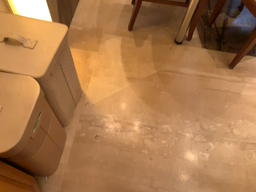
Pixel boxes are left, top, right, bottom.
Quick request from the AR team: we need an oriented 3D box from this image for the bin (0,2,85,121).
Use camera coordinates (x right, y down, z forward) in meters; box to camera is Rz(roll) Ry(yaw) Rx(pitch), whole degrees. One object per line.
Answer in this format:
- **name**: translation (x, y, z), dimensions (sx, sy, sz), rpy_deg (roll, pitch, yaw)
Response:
- **bin**: translation (-0.490, -0.140, 1.120), dimensions (0.400, 0.560, 0.290), rpy_deg (9, 61, 0)
